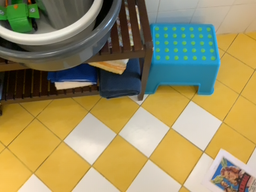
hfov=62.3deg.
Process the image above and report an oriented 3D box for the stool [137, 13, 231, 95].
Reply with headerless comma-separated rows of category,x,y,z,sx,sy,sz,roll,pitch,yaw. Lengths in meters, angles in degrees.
stool,0.270,-0.220,1.160,0.420,0.240,0.360,1,68,-1
